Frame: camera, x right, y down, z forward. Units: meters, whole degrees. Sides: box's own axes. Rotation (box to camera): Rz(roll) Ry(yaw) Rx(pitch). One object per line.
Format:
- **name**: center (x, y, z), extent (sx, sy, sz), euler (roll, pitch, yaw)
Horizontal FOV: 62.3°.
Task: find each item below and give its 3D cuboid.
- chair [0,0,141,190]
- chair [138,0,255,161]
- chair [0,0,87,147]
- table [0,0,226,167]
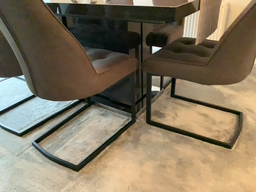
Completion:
- **chair**: center (-0.300, -0.160, 1.100), extent (0.490, 0.930, 0.630), euler (16, 34, 28)
- **chair**: center (0.450, -0.250, 1.200), extent (0.620, 0.930, 0.480), euler (18, 35, 30)
- **chair**: center (-0.720, -0.310, 1.360), extent (0.490, 0.950, 0.640), euler (17, 35, 30)
- **table**: center (-0.240, -0.370, 1.610), extent (1.580, 0.770, 0.970), euler (15, 34, 27)
